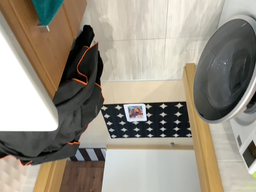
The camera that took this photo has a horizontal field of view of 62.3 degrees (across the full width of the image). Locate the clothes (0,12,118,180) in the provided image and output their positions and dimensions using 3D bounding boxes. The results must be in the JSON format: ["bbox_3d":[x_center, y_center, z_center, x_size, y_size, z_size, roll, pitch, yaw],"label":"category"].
[{"bbox_3d":[-0.340,0.000,1.190,0.430,0.730,0.560,-2,140,7],"label":"clothes"}]
